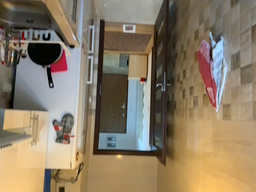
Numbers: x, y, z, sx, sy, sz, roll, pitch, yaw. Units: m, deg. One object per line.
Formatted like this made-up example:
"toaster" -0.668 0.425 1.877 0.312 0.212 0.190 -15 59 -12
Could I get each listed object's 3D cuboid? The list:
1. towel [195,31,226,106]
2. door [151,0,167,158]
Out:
"towel" 0.570 -0.180 1.480 0.130 0.480 0.210 3 175 -2
"door" 0.420 -0.260 2.900 0.090 2.010 0.780 2 175 3
